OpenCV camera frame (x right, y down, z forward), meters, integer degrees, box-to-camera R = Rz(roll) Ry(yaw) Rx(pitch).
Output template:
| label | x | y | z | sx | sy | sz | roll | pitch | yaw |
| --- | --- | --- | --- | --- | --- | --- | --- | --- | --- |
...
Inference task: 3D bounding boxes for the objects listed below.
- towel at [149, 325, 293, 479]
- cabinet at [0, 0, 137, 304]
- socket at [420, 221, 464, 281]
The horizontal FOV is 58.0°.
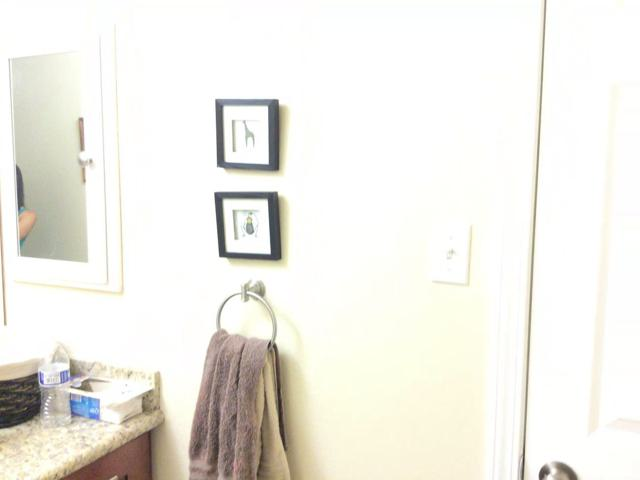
| label | x | y | z | sx | sy | sz | roll | pitch | yaw |
| --- | --- | --- | --- | --- | --- | --- | --- | --- | --- |
| towel | -0.210 | 0.430 | 1.250 | 0.260 | 0.450 | 0.150 | 1 | 4 | 26 |
| cabinet | -0.680 | -0.230 | 1.470 | 0.460 | 0.750 | 0.080 | 1 | 4 | 26 |
| socket | 0.230 | 0.020 | 1.090 | 0.080 | 0.110 | 0.020 | 1 | 4 | 26 |
